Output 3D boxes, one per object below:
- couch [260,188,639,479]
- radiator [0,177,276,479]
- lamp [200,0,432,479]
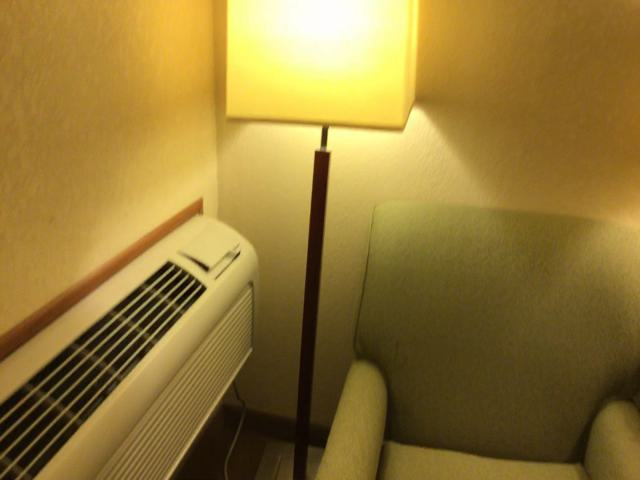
[{"bbox_3d":[0.390,0.510,1.300,0.800,0.970,0.870,8,22,12],"label":"couch"},{"bbox_3d":[-0.370,0.280,1.240,0.190,0.540,1.150,8,22,12],"label":"radiator"},{"bbox_3d":[-0.010,0.110,1.520,0.420,1.480,0.410,8,22,12],"label":"lamp"}]
